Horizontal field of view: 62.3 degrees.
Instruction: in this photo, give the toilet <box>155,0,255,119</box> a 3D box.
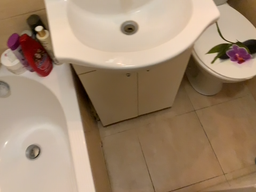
[{"bbox_3d":[0.460,-0.350,1.150,0.410,0.770,0.660,-13,65,-3],"label":"toilet"}]
